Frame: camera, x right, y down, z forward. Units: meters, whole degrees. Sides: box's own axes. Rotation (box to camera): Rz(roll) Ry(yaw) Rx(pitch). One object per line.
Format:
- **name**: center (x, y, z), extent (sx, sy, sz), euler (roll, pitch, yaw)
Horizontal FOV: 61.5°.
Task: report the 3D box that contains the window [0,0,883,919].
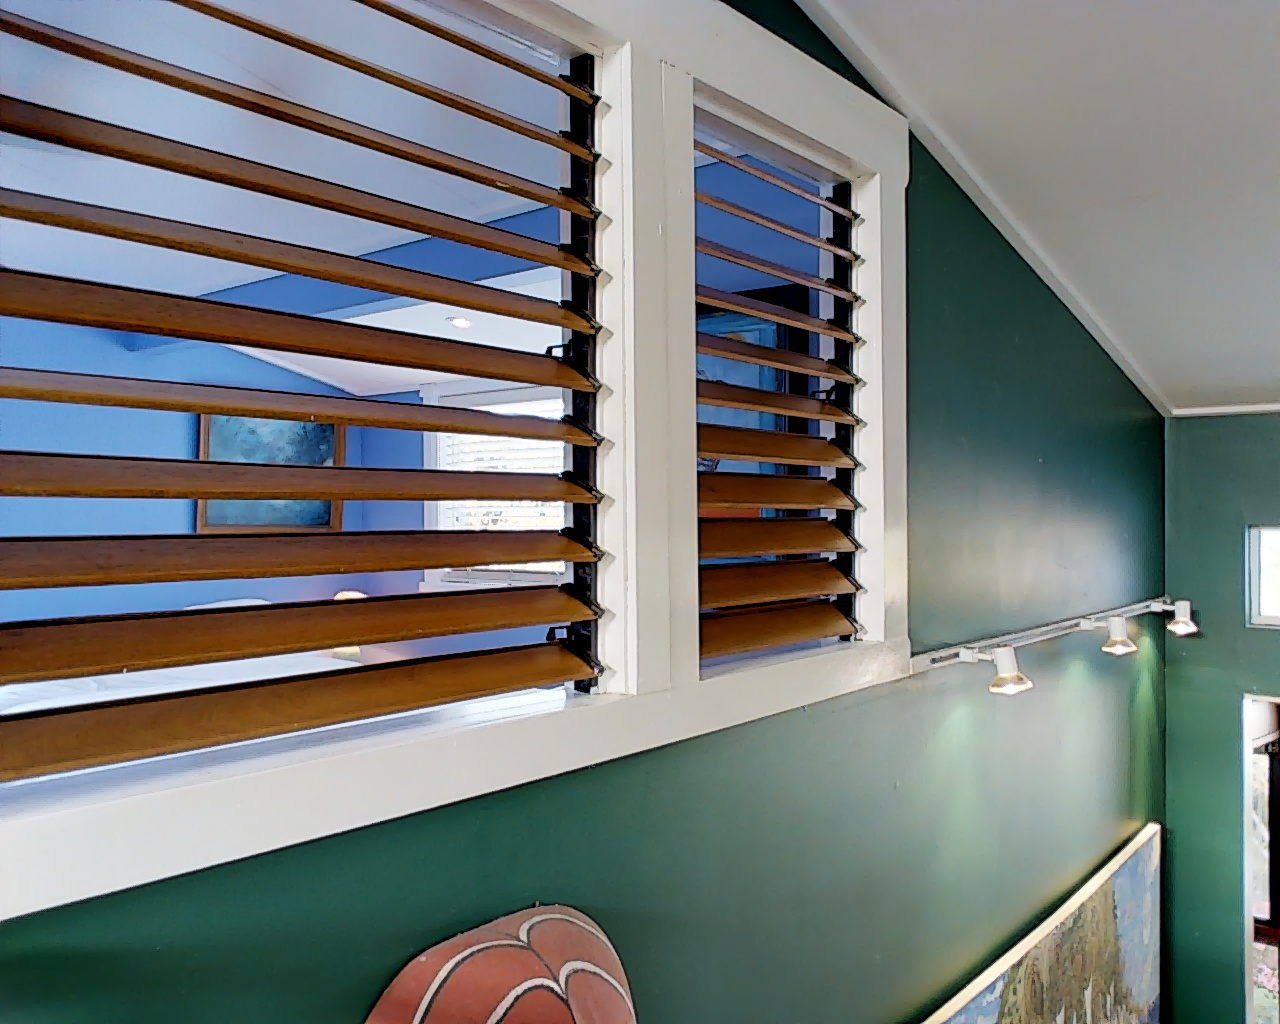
- **window**: center (-0.170, -0.230, 1.670), extent (0.130, 1.250, 2.100), euler (-1, -1, 40)
